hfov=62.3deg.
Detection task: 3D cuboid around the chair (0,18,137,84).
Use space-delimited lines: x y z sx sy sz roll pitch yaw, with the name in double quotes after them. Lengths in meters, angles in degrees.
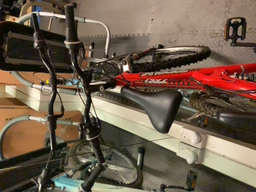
-0.560 -0.340 1.700 0.700 1.050 0.280 20 103 43 "chair"
